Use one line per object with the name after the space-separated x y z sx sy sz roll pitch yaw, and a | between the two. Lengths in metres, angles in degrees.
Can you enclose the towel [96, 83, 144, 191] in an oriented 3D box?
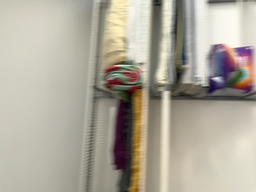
-0.020 0.250 1.070 0.380 0.160 0.560 50 -138 -78 | towel
